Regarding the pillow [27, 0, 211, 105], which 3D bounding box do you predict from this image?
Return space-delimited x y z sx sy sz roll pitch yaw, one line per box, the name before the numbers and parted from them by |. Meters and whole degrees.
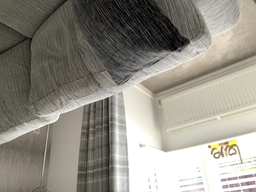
pillow | -0.030 -0.250 0.640 0.350 0.380 0.330 -25 146 33
